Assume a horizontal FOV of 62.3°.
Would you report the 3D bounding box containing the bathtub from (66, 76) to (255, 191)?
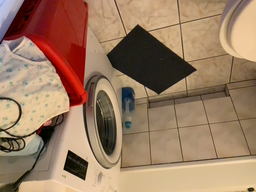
[{"bbox_3d":[0.480,0.380,1.730,1.700,0.590,0.690,-9,142,13],"label":"bathtub"}]
